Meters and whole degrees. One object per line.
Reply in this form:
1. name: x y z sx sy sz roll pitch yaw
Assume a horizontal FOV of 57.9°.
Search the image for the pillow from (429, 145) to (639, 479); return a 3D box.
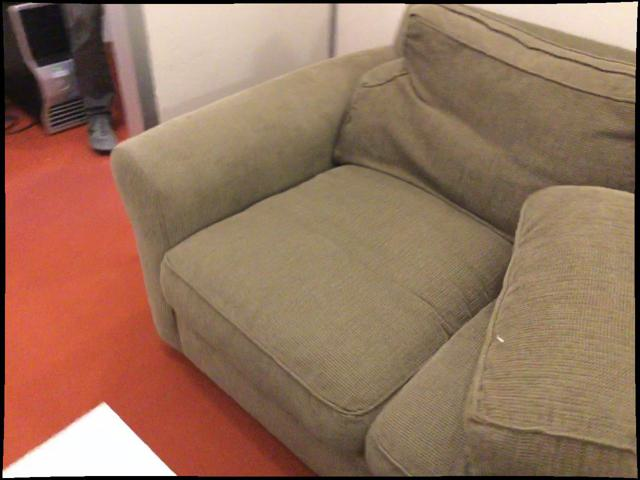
1. pillow: 0.549 0.170 1.040 0.550 0.290 0.660 15 41 12
